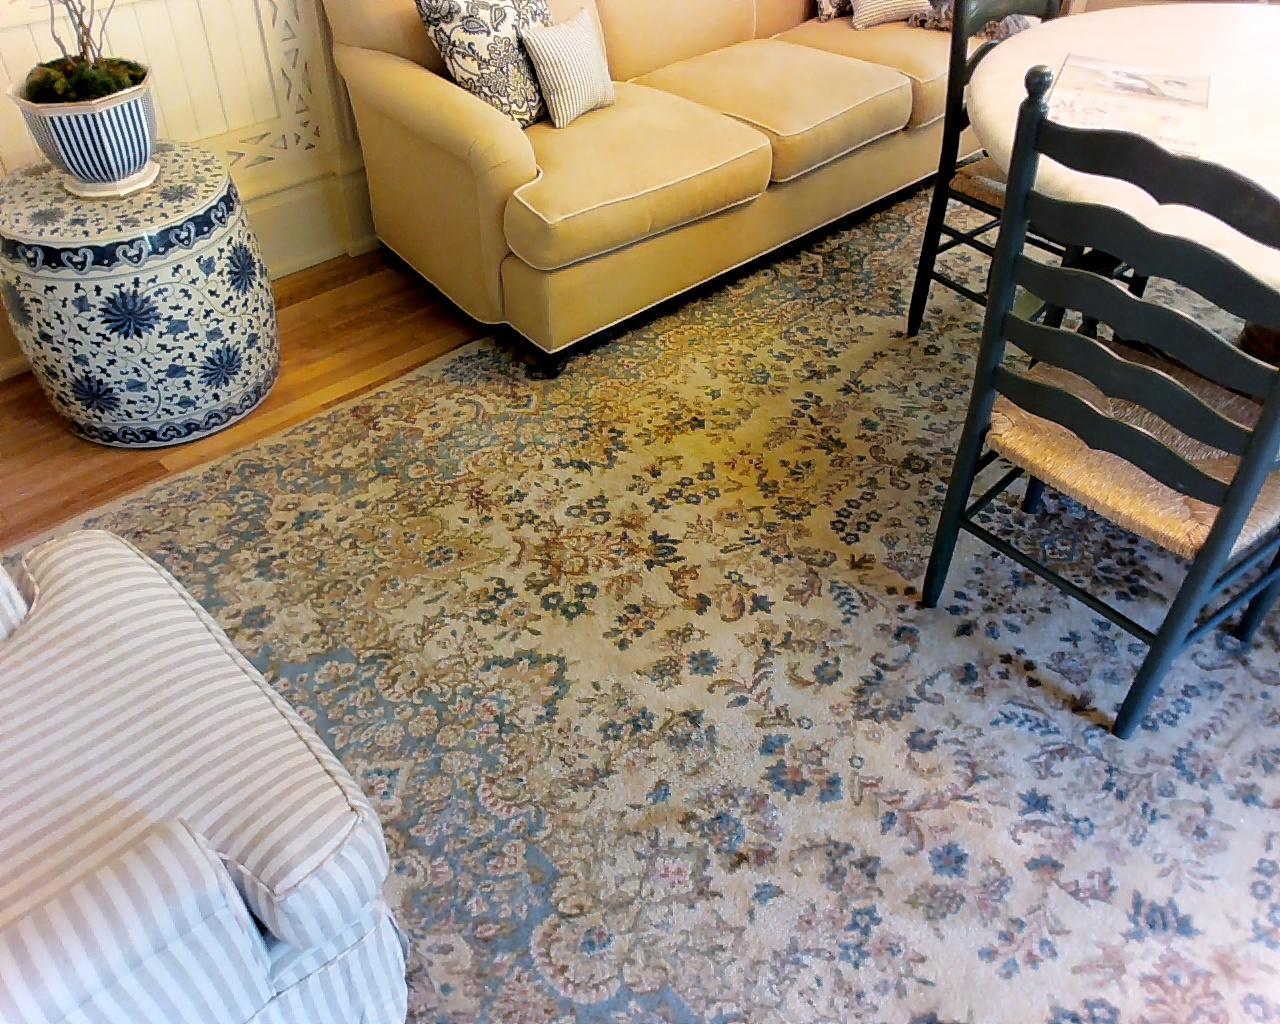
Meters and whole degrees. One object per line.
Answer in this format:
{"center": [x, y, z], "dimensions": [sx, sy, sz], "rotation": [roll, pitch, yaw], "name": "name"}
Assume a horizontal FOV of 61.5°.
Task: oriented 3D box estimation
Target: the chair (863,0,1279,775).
{"center": [0.840, -0.210, 1.760], "dimensions": [0.550, 1.060, 0.560], "rotation": [-31, 51, -31], "name": "chair"}

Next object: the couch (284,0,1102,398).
{"center": [0.290, -1.400, 3.190], "dimensions": [2.290, 0.930, 1.070], "rotation": [-31, 51, -31], "name": "couch"}

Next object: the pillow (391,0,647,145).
{"center": [-0.300, -1.220, 2.700], "dimensions": [0.480, 0.350, 0.410], "rotation": [-31, 51, -31], "name": "pillow"}
